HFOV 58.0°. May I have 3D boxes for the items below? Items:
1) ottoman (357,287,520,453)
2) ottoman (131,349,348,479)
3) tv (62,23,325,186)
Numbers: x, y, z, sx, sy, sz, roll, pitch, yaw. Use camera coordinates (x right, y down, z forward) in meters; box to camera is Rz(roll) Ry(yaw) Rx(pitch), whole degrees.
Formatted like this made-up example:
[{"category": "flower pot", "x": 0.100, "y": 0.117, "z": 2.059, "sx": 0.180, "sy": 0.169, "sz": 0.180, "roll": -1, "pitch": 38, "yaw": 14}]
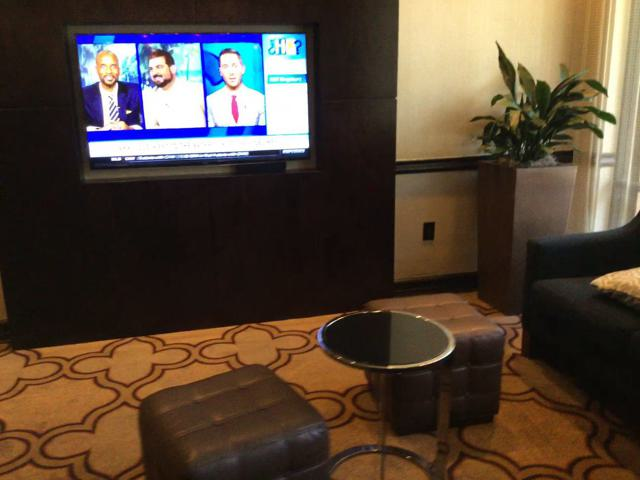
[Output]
[{"category": "ottoman", "x": 0.480, "y": 0.530, "z": 2.510, "sx": 0.520, "sy": 0.470, "sz": 0.520, "roll": -4, "pitch": 15, "yaw": -11}, {"category": "ottoman", "x": -0.270, "y": 0.720, "z": 1.880, "sx": 0.540, "sy": 0.460, "sz": 0.510, "roll": -8, "pitch": 16, "yaw": -26}, {"category": "tv", "x": -0.640, "y": -0.750, "z": 3.170, "sx": 1.290, "sy": 0.800, "sz": 0.300, "roll": -4, "pitch": 15, "yaw": -11}]
